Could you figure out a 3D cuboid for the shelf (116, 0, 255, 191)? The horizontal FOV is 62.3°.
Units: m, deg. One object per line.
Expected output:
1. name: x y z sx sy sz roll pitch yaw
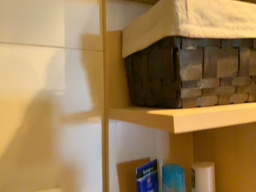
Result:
1. shelf: 0.110 -0.090 0.320 0.200 0.650 0.190 -1 0 -25
